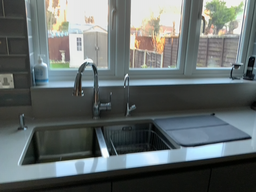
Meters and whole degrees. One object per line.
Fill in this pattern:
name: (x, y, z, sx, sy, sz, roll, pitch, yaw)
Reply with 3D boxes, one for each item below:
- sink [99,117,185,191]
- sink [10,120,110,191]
sink: (0.040, 0.300, 1.150, 0.350, 0.220, 0.410, -2, 16, -14)
sink: (-0.310, 0.310, 1.060, 0.380, 0.220, 0.410, -2, 16, -14)
